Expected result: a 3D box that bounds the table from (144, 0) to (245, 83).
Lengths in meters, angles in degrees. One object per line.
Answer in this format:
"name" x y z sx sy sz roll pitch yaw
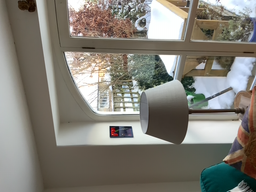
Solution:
"table" 0.860 -1.060 3.540 2.000 0.750 0.880 -104 16 -59
